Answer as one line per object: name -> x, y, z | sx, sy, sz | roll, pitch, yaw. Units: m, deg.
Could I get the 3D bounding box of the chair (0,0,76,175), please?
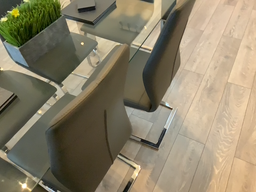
chair -> -0.800, -0.050, 1.230 | 0.570, 1.020, 0.460 | 20, 55, 20

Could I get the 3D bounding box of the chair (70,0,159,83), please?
chair -> -0.070, -0.700, 1.700 | 0.480, 1.040, 0.530 | 18, 55, 18

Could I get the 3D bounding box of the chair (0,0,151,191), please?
chair -> -0.260, 0.180, 1.000 | 0.570, 1.030, 0.460 | 21, 56, 20

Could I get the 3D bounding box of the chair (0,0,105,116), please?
chair -> -0.600, -0.420, 1.510 | 0.560, 1.030, 0.460 | 20, 55, 20

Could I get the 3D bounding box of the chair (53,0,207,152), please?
chair -> 0.060, -0.190, 1.280 | 0.550, 1.030, 0.460 | 21, 56, 20
